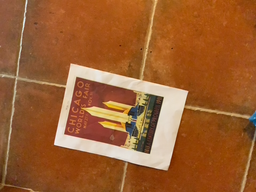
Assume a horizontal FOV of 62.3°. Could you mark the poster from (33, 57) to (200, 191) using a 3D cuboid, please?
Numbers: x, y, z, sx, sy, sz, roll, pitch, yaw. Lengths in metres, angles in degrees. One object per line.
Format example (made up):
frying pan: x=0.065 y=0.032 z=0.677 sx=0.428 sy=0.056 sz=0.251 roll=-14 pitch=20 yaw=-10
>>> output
poster: x=-0.030 y=0.080 z=0.530 sx=0.360 sy=0.020 sz=0.280 roll=12 pitch=95 yaw=-2
